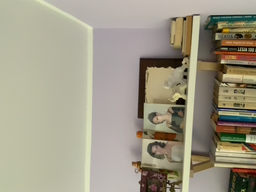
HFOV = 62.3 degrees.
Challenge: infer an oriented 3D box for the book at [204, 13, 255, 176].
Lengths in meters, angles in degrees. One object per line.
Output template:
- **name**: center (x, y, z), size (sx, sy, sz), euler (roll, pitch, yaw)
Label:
- **book**: center (0.470, 0.000, 0.890), size (0.150, 0.210, 0.630), euler (-40, -47, -73)
